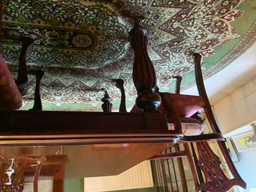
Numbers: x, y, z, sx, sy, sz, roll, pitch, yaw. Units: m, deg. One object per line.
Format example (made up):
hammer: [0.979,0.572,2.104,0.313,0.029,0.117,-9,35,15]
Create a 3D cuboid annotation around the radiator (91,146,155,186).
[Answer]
radiator: [-0.090,1.160,3.580,1.050,0.580,0.100,3,153,-18]
